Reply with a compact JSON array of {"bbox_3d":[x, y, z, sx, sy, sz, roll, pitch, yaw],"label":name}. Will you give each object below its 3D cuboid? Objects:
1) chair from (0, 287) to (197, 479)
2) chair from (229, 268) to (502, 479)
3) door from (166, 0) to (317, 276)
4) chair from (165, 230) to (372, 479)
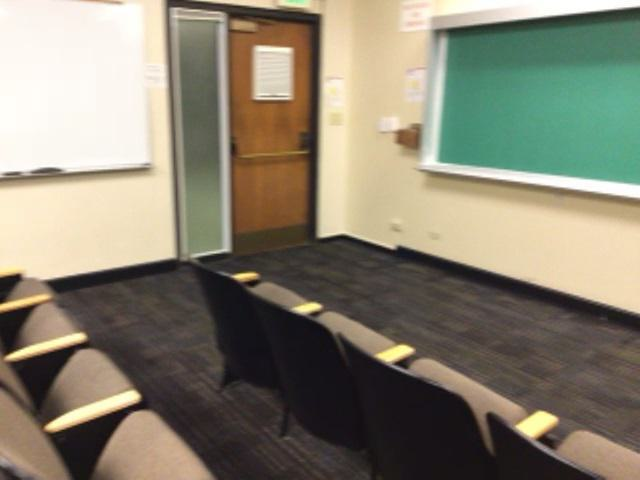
[{"bbox_3d":[-0.750,0.630,1.710,0.530,0.760,0.590,-12,19,-39],"label":"chair"},{"bbox_3d":[0.130,0.590,1.990,0.580,0.760,0.680,-12,19,-39],"label":"chair"},{"bbox_3d":[-0.580,-0.830,4.740,1.230,2.050,0.250,-11,19,-39],"label":"door"},{"bbox_3d":[-0.230,0.450,2.450,0.530,0.800,0.700,-12,19,-39],"label":"chair"}]
